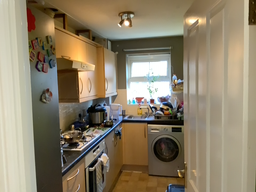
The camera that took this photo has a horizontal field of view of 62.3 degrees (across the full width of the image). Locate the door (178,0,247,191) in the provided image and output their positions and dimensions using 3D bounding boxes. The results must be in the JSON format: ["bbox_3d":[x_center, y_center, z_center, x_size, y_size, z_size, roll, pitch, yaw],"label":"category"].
[{"bbox_3d":[0.350,0.480,1.040,0.070,1.950,0.770,-1,4,5],"label":"door"}]

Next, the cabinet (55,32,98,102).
[{"bbox_3d":[-0.680,-0.370,2.960,0.270,0.840,0.750,-1,4,11],"label":"cabinet"}]

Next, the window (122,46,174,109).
[{"bbox_3d":[0.400,-0.340,4.160,0.970,1.180,0.160,-1,4,9],"label":"window"}]
